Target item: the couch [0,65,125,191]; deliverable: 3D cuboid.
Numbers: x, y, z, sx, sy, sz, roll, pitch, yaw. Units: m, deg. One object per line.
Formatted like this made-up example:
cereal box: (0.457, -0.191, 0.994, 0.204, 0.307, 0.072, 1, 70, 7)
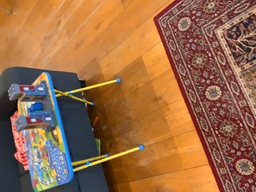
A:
couch: (-0.530, 0.760, 1.560, 0.740, 0.660, 1.760, -31, 71, 37)
